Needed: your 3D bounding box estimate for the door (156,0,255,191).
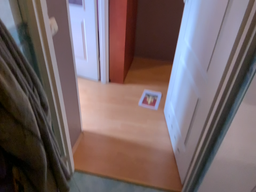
[{"bbox_3d":[0.400,-0.360,1.220,0.090,1.990,0.950,2,37,-3],"label":"door"}]
